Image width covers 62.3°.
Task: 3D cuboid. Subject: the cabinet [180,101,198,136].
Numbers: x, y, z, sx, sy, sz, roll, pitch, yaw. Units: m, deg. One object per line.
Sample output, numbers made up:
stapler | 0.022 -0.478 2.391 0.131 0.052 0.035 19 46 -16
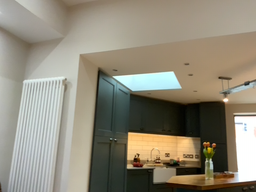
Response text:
cabinet | 1.480 0.560 5.160 0.360 0.800 0.310 -3 -14 24

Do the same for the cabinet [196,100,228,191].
cabinet | 1.880 1.260 4.760 0.560 2.300 0.400 -3 -14 24
